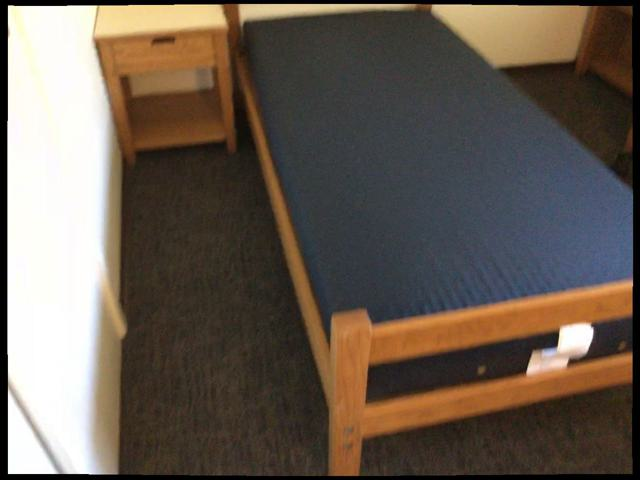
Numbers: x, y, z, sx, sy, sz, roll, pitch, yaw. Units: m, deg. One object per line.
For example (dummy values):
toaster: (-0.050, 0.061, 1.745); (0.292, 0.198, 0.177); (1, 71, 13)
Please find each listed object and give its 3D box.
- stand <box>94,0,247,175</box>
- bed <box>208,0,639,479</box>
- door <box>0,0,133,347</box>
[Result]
stand: (-0.649, -0.711, 2.570); (0.529, 0.581, 0.530); (-9, 41, -11)
bed: (0.299, -0.451, 2.010); (1.138, 0.921, 2.181); (-9, 41, -11)
door: (-0.679, -0.611, 1.350); (0.090, 1.972, 0.570); (-9, 41, -11)
